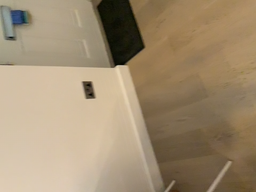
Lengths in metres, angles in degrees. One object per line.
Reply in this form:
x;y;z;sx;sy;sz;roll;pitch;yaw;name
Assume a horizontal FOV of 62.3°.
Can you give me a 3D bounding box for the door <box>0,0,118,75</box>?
-1.060;-0.540;1.550;0.030;2.200;0.850;-32;70;46;door
